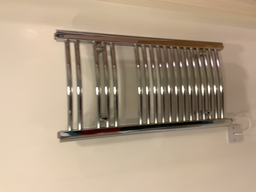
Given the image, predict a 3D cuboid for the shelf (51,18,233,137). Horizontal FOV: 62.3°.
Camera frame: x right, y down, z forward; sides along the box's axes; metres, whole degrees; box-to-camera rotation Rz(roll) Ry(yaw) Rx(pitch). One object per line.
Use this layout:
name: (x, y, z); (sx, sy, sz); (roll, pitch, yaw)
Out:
shelf: (0.110, -0.080, 0.930); (0.030, 0.830, 0.440); (162, 105, -69)
